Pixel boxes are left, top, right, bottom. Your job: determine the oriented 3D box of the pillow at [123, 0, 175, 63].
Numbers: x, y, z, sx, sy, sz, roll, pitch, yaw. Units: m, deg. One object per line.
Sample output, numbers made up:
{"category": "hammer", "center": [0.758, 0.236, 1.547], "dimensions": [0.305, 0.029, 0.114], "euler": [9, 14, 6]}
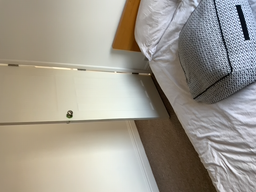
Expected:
{"category": "pillow", "center": [0.170, -0.670, 2.040], "dimensions": [0.590, 0.150, 0.380], "euler": [118, 144, -43]}
